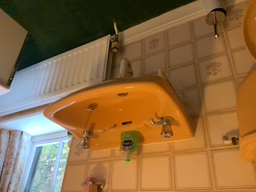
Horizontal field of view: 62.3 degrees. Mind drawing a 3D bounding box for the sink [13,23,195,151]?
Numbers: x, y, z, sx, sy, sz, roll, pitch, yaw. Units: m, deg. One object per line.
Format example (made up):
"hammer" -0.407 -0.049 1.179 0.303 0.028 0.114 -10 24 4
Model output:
"sink" -0.090 0.030 0.930 0.620 0.250 0.410 -15 145 27
